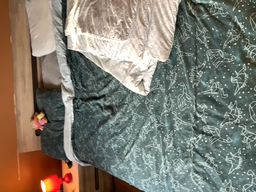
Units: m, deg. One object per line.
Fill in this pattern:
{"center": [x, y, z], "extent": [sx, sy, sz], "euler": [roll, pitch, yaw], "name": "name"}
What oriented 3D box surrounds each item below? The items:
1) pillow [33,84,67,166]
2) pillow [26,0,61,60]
{"center": [-0.770, 0.250, 2.080], "extent": [0.430, 0.140, 0.730], "euler": [2, 95, 50], "name": "pillow"}
{"center": [-0.820, -0.700, 2.030], "extent": [0.420, 0.150, 0.630], "euler": [-4, 91, 50], "name": "pillow"}
